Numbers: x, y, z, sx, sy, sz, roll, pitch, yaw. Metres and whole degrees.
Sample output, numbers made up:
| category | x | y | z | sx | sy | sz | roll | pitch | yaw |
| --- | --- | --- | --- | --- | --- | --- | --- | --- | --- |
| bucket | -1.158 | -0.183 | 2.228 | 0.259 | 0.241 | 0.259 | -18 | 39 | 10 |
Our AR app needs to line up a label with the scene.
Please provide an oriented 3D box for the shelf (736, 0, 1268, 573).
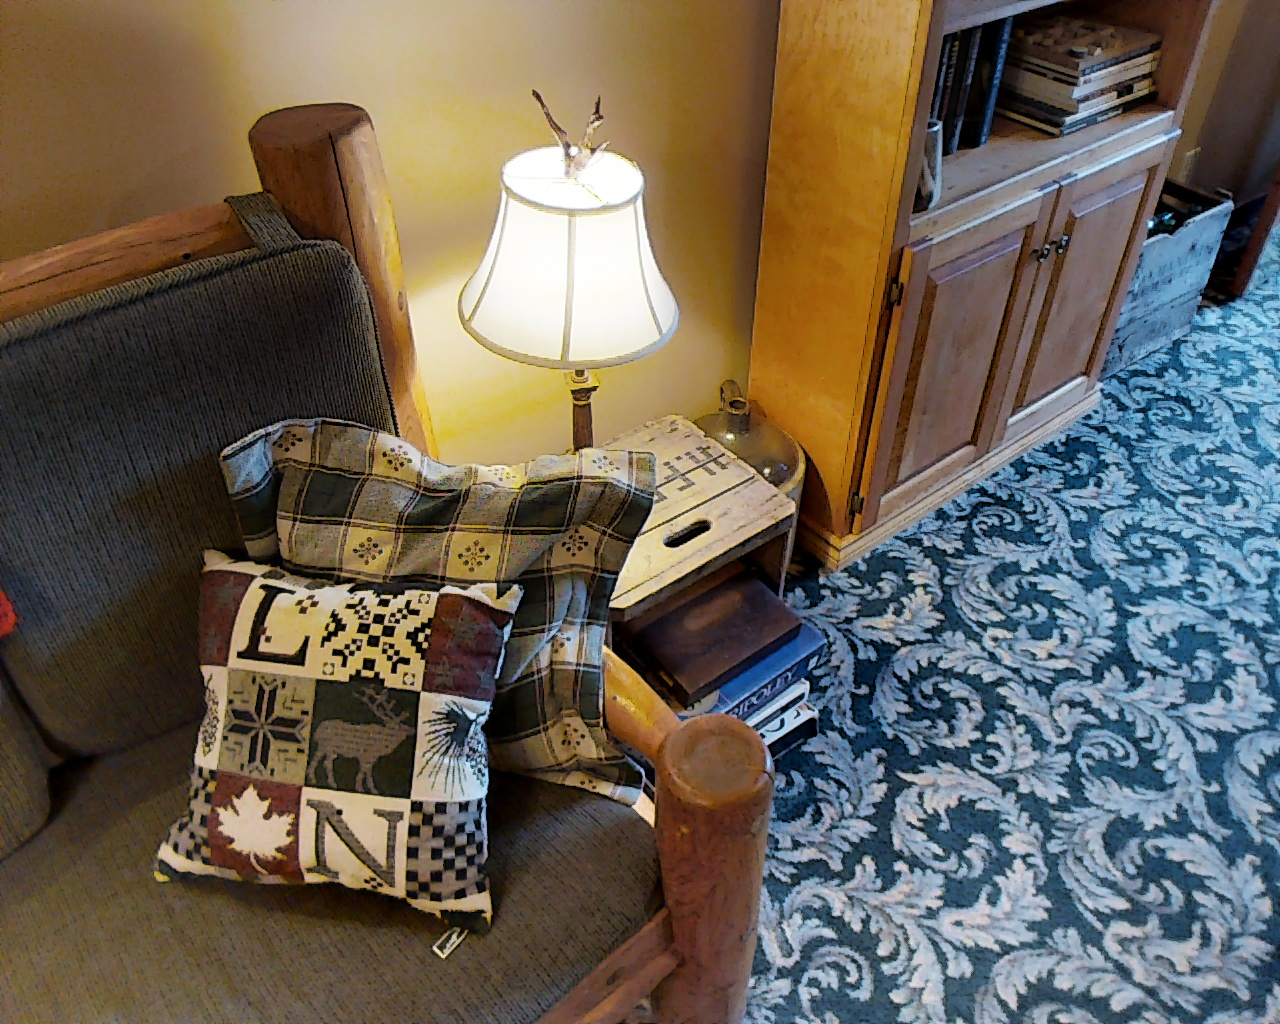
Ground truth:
| category | x | y | z | sx | sy | sz | roll | pitch | yaw |
| --- | --- | --- | --- | --- | --- | --- | --- | --- | --- |
| shelf | 0.720 | -0.870 | 1.940 | 1.000 | 1.890 | 0.320 | -27 | 48 | -28 |

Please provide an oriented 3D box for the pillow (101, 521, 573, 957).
| category | x | y | z | sx | sy | sz | roll | pitch | yaw |
| --- | --- | --- | --- | --- | --- | --- | --- | --- | --- |
| pillow | -0.340 | 0.260 | 1.220 | 0.390 | 0.370 | 0.150 | -21 | 5 | 21 |
